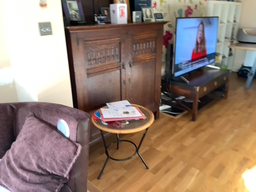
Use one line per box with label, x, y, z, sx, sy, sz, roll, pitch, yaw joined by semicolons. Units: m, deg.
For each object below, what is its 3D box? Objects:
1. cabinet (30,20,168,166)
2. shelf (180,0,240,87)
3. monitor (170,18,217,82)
cabinet;-0.200;-0.180;2.360;0.600;1.220;1.310;17;27;39
shelf;1.720;-1.120;4.390;0.450;1.490;1.550;17;27;39
monitor;0.950;-0.700;3.000;0.050;0.750;1.200;17;27;39
